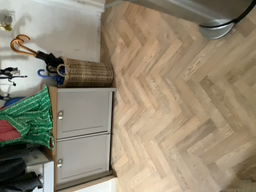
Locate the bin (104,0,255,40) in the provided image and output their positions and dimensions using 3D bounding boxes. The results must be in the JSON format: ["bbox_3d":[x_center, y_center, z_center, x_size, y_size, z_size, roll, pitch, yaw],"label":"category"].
[{"bbox_3d":[0.290,-0.520,1.050,0.390,0.700,0.350,12,101,50],"label":"bin"}]
